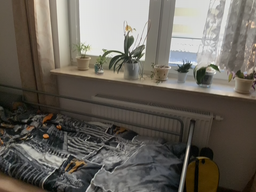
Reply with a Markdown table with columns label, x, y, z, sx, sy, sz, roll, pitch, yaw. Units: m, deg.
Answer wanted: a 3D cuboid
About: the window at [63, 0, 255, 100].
| label | x | y | z | sx | sy | sz | roll | pitch | yaw |
| --- | --- | --- | --- | --- | --- | --- | --- | --- | --- |
| window | 0.340 | -0.830 | 1.630 | 1.800 | 1.510 | 0.260 | 9 | 21 | 17 |
